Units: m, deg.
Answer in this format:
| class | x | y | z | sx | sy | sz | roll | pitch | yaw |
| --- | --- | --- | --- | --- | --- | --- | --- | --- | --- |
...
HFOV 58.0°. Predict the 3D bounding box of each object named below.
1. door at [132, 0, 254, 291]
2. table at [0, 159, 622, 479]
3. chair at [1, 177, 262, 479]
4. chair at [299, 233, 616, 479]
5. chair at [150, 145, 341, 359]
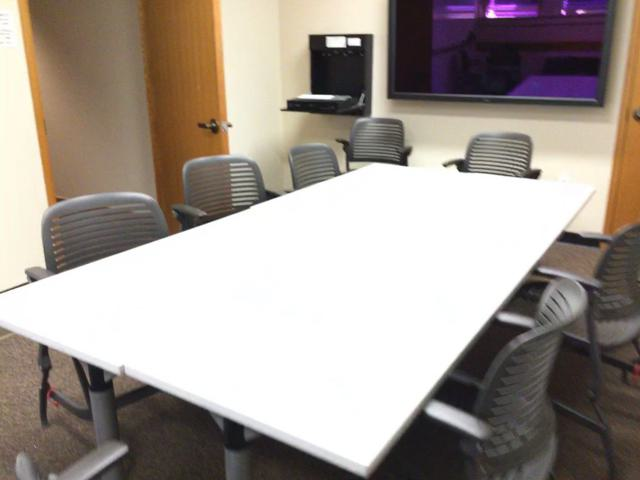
| class | x | y | z | sx | sy | sz | roll | pitch | yaw |
| --- | --- | --- | --- | --- | --- | --- | --- | --- | --- |
| door | -0.770 | -0.810 | 3.460 | 0.270 | 2.070 | 0.830 | -14 | 22 | -39 |
| table | 0.220 | 0.290 | 2.320 | 1.410 | 0.780 | 2.430 | 11 | 20 | 31 |
| chair | -0.650 | 0.260 | 2.100 | 0.590 | 0.820 | 0.620 | 15 | 22 | 39 |
| chair | 0.340 | 0.490 | 1.450 | 0.540 | 0.820 | 0.600 | 11 | 20 | 31 |
| chair | -0.350 | 0.000 | 2.810 | 0.640 | 0.800 | 0.620 | -15 | 23 | -41 |
